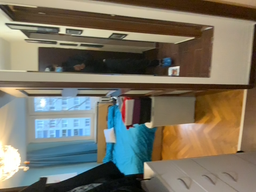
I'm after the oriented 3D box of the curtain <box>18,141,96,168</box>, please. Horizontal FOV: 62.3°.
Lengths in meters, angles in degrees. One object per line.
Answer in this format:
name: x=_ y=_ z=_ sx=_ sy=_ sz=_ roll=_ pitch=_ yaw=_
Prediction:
curtain: x=-1.750 y=1.470 z=5.370 sx=0.180 sy=1.840 sz=0.480 roll=-161 pitch=72 yaw=-71
